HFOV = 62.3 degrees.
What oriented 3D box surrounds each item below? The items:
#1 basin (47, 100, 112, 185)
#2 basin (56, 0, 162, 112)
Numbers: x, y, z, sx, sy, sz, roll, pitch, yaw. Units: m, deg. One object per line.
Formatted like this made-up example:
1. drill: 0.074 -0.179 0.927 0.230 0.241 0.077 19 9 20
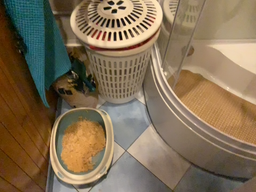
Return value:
1. basin: -0.250 0.250 1.220 0.290 0.130 0.460 1 54 -3
2. basin: -0.100 -0.260 1.290 0.450 0.640 0.450 0 54 -4
